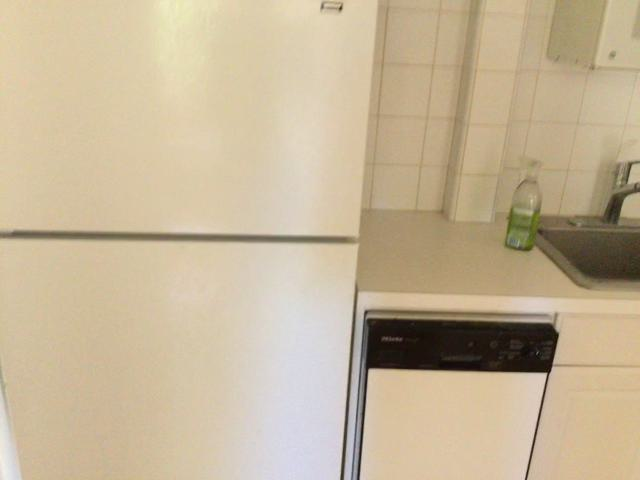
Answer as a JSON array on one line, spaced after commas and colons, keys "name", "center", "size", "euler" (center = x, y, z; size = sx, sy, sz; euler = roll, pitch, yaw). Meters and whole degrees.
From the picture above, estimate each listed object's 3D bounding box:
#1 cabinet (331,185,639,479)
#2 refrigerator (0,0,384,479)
[{"name": "cabinet", "center": [0.690, 0.410, 1.700], "size": [1.310, 1.010, 0.690], "euler": [0, 18, 1]}, {"name": "refrigerator", "center": [-0.320, 0.170, 1.340], "size": [0.860, 1.670, 0.460], "euler": [0, 18, 1]}]
